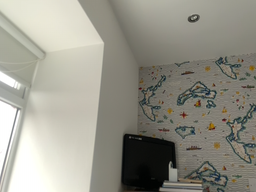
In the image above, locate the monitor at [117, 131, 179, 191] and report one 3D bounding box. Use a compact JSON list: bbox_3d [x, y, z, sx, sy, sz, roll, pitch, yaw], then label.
[{"bbox_3d":[0.160,0.480,1.530,0.500,0.370,0.040,15,-25,-28],"label":"monitor"}]
